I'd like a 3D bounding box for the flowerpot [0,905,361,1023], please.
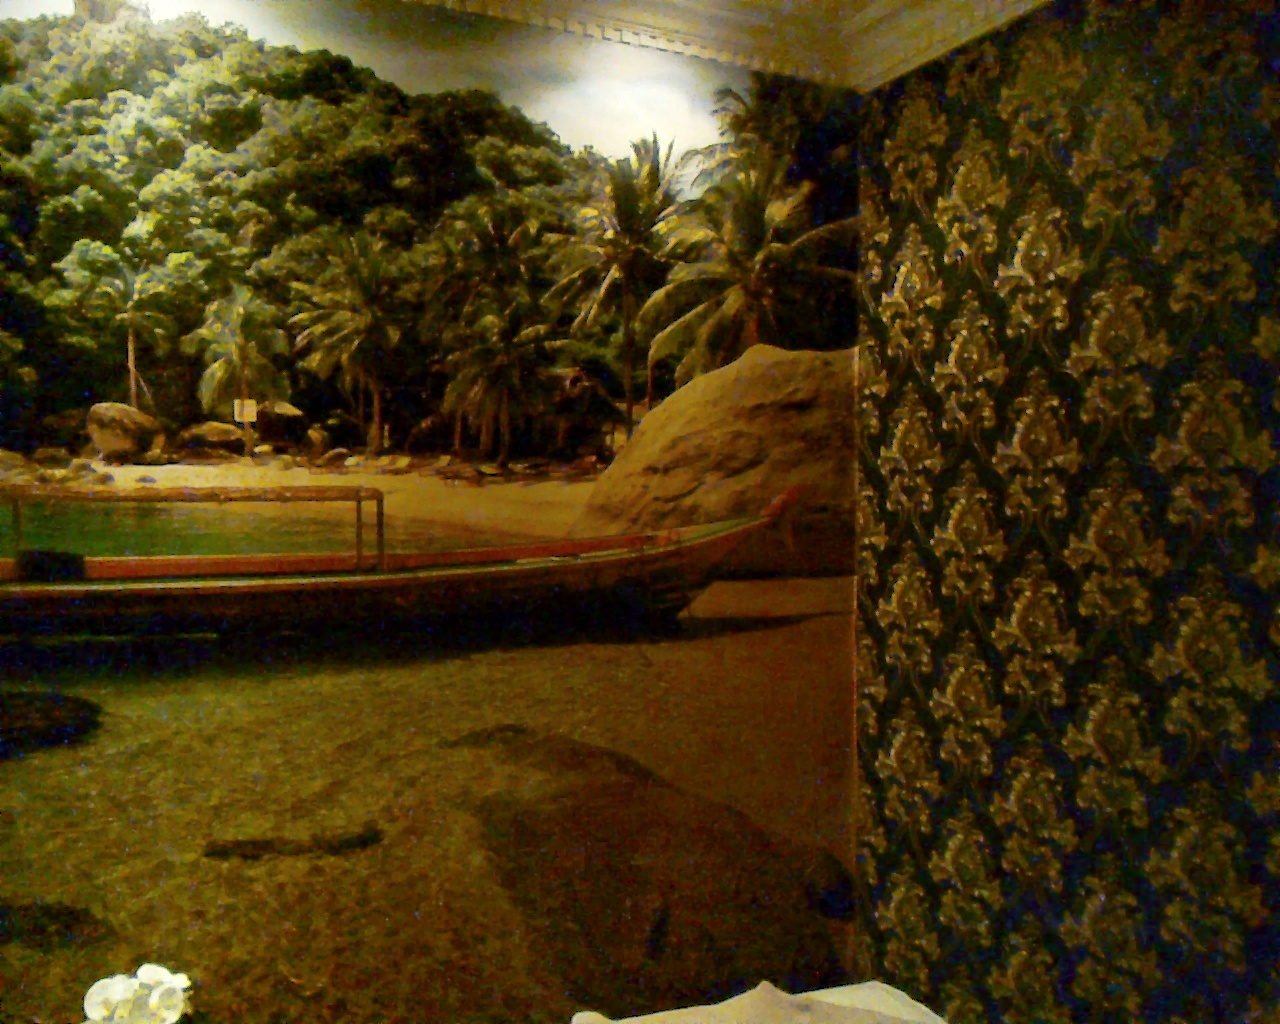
[{"bbox_3d":[-0.740,0.980,1.690,0.510,0.470,0.530,0,1,-24],"label":"flowerpot"}]
